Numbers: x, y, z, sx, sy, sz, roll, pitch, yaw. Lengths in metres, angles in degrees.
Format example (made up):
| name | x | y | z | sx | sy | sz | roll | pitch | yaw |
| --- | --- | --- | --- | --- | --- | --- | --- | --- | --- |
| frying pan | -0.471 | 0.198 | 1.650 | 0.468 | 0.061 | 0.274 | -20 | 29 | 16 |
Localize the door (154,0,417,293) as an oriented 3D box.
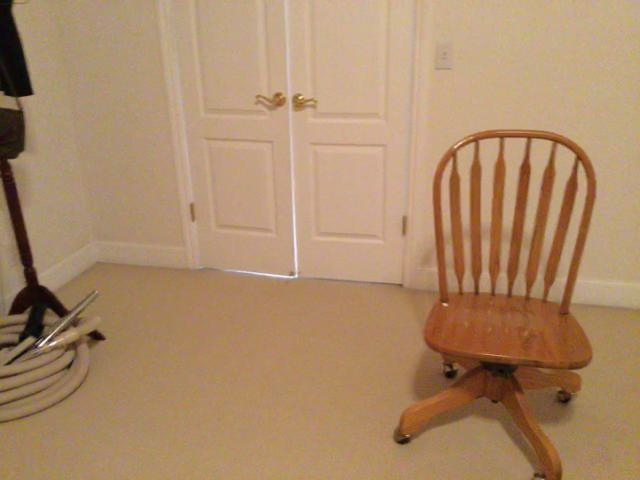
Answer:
| name | x | y | z | sx | sy | sz | roll | pitch | yaw |
| --- | --- | --- | --- | --- | --- | --- | --- | --- | --- |
| door | -0.160 | -0.630 | 2.650 | 1.160 | 1.790 | 0.080 | 3 | 20 | 12 |
